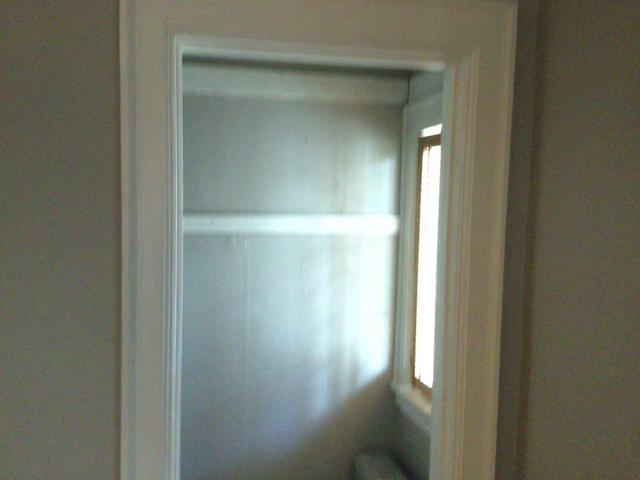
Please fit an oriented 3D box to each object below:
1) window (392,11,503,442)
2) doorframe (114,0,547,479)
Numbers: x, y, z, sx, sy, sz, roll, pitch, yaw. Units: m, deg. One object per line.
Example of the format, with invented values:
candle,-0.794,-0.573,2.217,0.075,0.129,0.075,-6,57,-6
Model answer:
window,0.420,-0.040,2.040,0.130,1.290,0.610,2,1,-8
doorframe,0.020,0.450,1.500,1.020,2.170,0.240,2,1,-14
